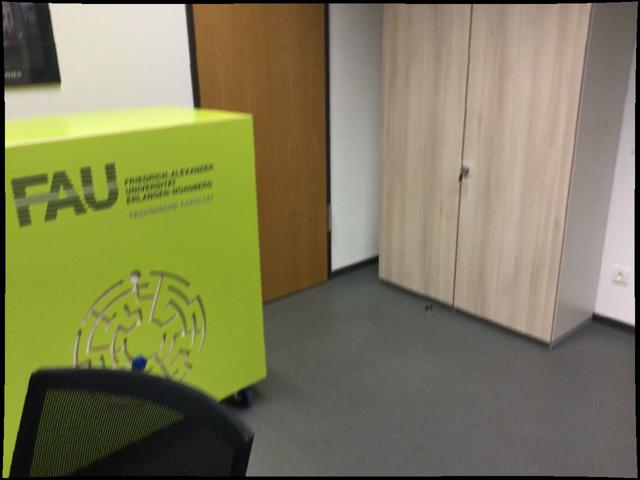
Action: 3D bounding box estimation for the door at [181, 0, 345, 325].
[{"bbox_3d":[-0.260,-0.661,3.110,0.850,2.102,0.190,-15,21,-37],"label":"door"}]
